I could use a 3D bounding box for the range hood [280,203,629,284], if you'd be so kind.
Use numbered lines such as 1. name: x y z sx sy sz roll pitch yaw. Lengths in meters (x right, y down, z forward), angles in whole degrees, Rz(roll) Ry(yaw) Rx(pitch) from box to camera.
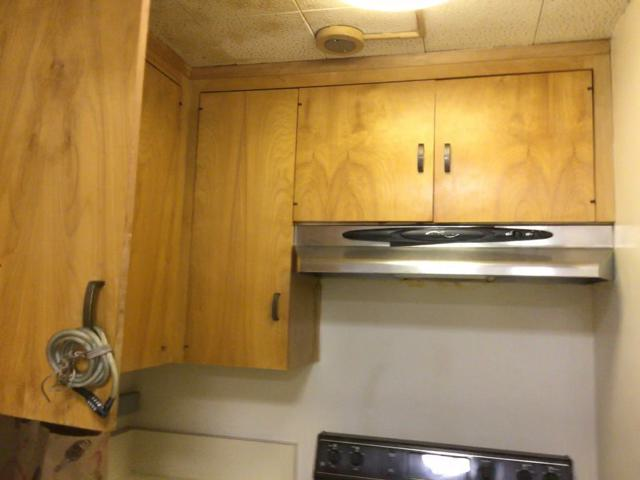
1. range hood: 0.340 0.010 1.600 0.890 0.190 0.160 0 -7 15

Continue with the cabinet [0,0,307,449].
1. cabinet: -0.490 -0.130 1.420 0.640 0.990 0.910 0 -7 15

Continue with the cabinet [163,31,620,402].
1. cabinet: 0.200 -0.060 1.840 1.270 0.970 0.370 0 -7 15
